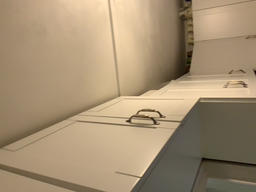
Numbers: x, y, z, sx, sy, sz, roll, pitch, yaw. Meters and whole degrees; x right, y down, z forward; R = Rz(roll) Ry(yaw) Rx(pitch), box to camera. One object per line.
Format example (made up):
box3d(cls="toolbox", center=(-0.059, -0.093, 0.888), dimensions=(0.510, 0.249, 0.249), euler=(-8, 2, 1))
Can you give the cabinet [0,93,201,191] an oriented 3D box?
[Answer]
box3d(cls="cabinet", center=(-0.200, 0.330, 0.480), dimensions=(1.580, 0.470, 0.350), euler=(-26, -67, -60))
